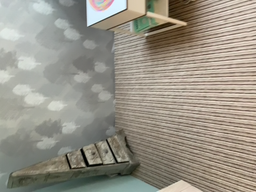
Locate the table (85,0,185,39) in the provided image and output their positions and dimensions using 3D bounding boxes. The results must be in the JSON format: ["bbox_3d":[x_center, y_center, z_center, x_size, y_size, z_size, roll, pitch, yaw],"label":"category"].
[{"bbox_3d":[0.050,-0.690,1.420,0.410,0.530,0.480,5,96,50],"label":"table"}]
